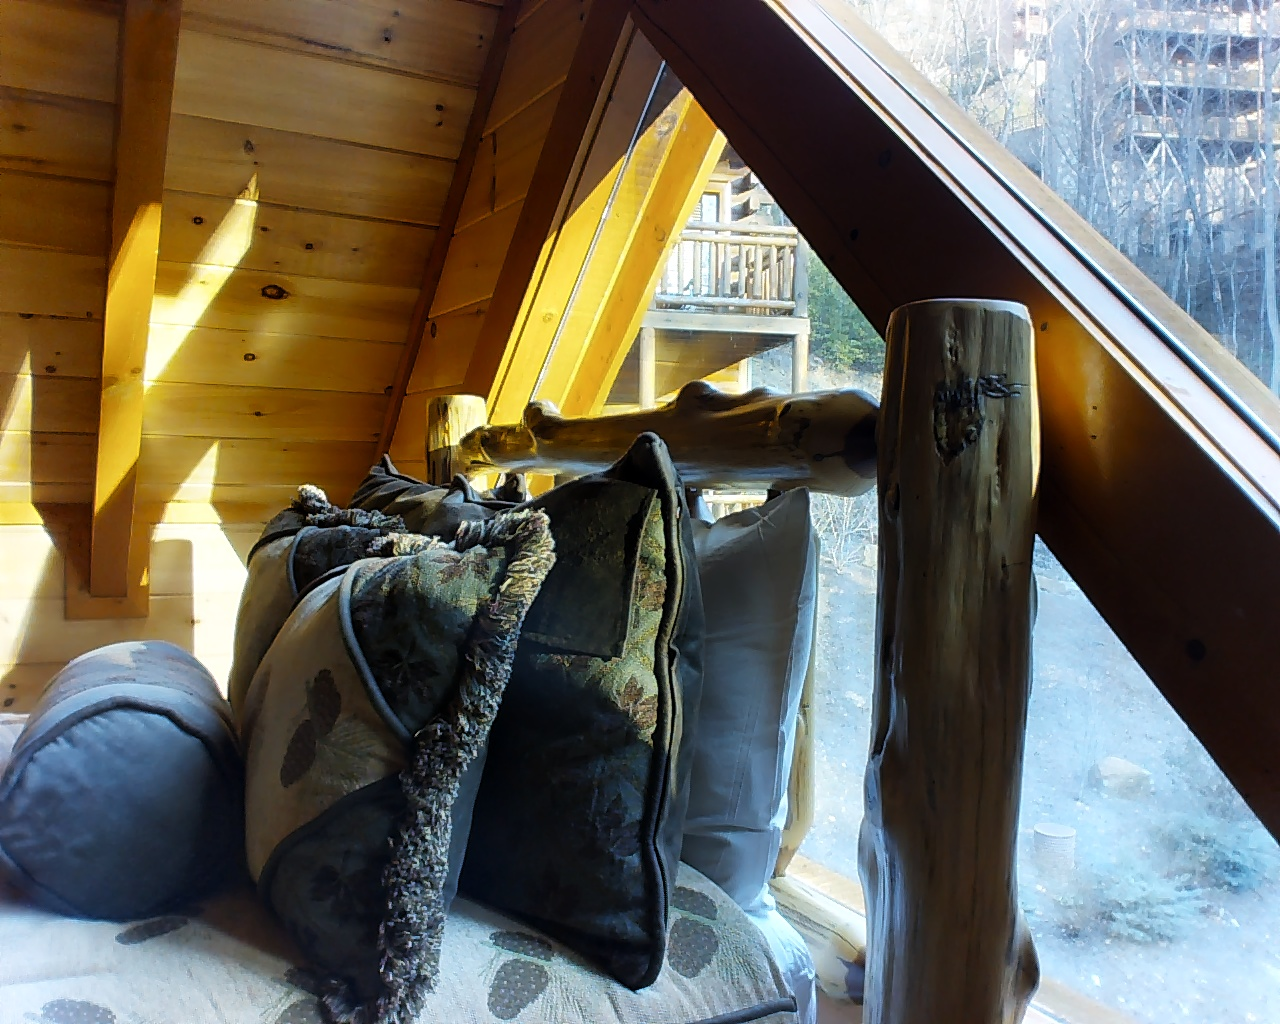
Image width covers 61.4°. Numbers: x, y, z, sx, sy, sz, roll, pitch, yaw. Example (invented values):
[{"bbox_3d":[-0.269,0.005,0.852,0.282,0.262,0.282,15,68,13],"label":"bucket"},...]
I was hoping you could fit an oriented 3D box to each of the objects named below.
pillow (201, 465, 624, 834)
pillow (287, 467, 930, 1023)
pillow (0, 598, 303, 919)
[{"bbox_3d":[-0.390,0.140,1.630,0.430,0.410,0.760,-1,2,-28],"label":"pillow"},{"bbox_3d":[-0.070,0.150,1.060,0.450,0.380,0.520,-1,2,-27],"label":"pillow"},{"bbox_3d":[-0.590,0.230,1.180,0.360,0.200,0.570,0,2,-24],"label":"pillow"}]
